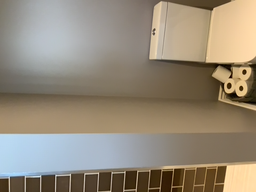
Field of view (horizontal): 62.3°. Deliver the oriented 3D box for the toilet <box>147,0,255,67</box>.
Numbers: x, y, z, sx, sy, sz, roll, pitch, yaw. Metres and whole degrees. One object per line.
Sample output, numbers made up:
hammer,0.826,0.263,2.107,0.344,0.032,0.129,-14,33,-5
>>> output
toilet,0.610,-0.390,1.280,0.600,0.810,0.380,-144,58,-73
